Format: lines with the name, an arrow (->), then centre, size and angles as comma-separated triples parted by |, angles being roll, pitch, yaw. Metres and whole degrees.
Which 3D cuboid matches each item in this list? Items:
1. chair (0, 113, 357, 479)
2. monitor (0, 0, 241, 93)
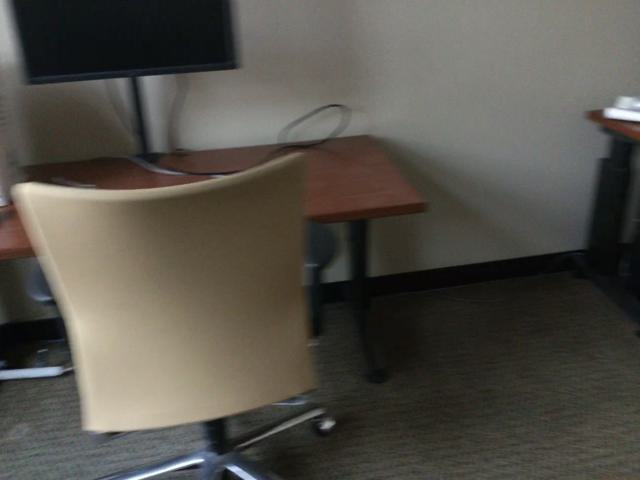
chair -> -0.300, 0.260, 1.350 | 0.680, 0.960, 0.620 | -5, 21, -3
monitor -> -0.510, -0.580, 1.480 | 0.570, 0.350, 0.080 | -5, 21, -3
